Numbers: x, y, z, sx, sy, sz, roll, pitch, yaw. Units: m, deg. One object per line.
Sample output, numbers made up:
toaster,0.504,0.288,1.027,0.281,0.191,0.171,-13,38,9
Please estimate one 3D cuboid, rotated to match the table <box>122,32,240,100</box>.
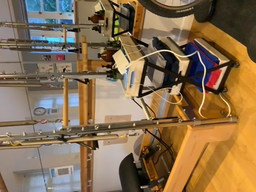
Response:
table,0.350,-0.250,1.610,0.490,0.680,0.300,-113,25,-52
